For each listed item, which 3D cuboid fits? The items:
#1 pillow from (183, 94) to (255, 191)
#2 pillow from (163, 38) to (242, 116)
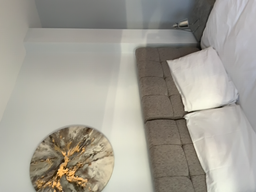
[{"bbox_3d":[0.670,0.340,1.460,0.130,0.430,0.690,66,-164,-53],"label":"pillow"},{"bbox_3d":[0.610,-0.190,1.870,0.140,0.490,0.680,64,-162,-47],"label":"pillow"}]
